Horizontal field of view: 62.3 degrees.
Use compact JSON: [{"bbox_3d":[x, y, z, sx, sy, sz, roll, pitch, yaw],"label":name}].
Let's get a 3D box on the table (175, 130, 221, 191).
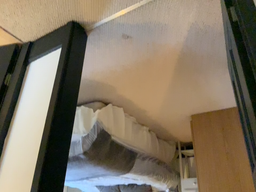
[{"bbox_3d":[0.970,0.930,2.970,0.440,0.760,0.350,-15,149,29],"label":"table"}]
